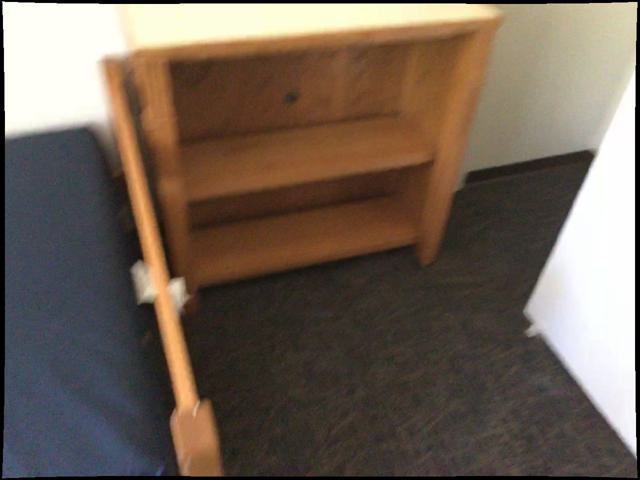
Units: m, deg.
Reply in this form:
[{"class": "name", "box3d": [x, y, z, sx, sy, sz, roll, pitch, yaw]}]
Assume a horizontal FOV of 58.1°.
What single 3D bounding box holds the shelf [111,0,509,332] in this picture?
[{"class": "shelf", "box3d": [-0.050, -0.241, 1.510, 0.788, 0.761, 0.380, -13, 46, -18]}]
